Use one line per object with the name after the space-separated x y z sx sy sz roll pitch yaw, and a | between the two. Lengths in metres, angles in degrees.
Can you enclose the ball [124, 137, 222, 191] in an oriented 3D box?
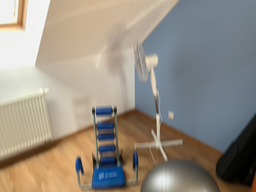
0.360 0.760 1.610 0.570 0.530 0.620 8 25 21 | ball
